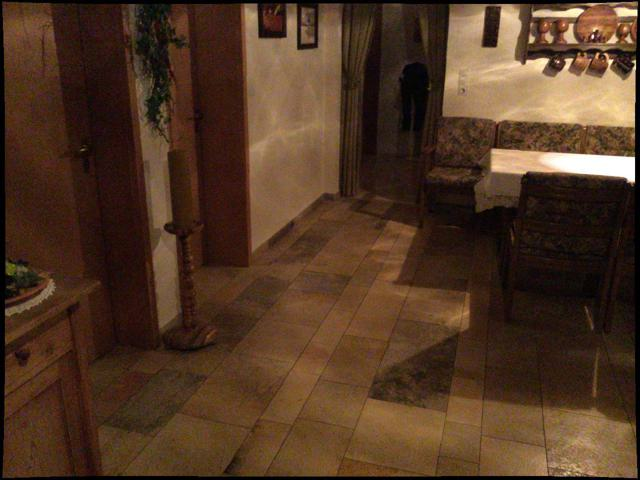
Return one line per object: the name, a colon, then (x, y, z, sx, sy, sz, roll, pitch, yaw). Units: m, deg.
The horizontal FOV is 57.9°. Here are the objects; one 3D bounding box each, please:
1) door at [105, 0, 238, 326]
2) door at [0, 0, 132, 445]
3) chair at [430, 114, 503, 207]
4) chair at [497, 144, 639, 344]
door: (-0.799, -0.601, 3.350, 0.190, 1.992, 0.870, 6, 20, 17)
door: (-1.189, -0.240, 2.220, 0.110, 1.952, 1.010, 6, 20, 17)
chair: (1.209, -0.671, 4.730, 0.480, 0.611, 0.660, 6, 21, 17)
chair: (1.349, -0.030, 3.170, 0.609, 0.841, 0.750, 6, 21, 18)
